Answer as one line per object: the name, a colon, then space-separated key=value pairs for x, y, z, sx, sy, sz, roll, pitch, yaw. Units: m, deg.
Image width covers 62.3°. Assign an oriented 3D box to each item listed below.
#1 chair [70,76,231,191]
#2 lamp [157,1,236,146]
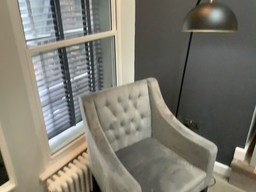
chair: x=0.100 y=0.440 z=1.440 sx=0.670 sy=0.890 sz=0.670 roll=-15 pitch=29 yaw=-29
lamp: x=0.410 y=-0.150 z=1.350 sx=0.260 sy=0.820 sz=0.340 roll=20 pitch=32 yaw=36
